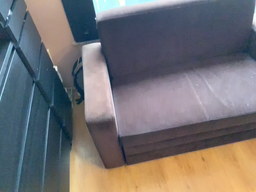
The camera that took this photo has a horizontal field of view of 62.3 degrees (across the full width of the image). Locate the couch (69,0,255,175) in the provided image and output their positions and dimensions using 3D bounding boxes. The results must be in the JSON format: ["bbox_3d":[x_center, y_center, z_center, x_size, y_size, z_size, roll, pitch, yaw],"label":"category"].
[{"bbox_3d":[0.420,-0.130,1.520,1.420,0.870,0.800,-10,48,-3],"label":"couch"}]
